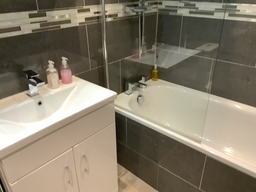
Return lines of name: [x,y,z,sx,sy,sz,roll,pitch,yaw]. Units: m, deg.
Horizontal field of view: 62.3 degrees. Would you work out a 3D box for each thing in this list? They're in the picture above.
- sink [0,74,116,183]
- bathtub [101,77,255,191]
sink: [-0.420,0.090,1.070,0.390,0.150,0.630,21,34,36]
bathtub: [0.640,0.430,1.500,1.660,0.570,0.690,22,34,37]
